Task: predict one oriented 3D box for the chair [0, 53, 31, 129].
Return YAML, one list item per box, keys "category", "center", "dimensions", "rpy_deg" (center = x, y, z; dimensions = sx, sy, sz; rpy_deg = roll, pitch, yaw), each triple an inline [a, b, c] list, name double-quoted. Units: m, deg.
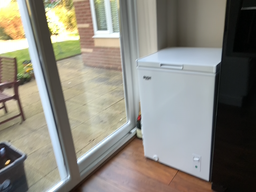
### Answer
- category: "chair"
  center: [-1.850, -0.080, 3.030]
  dimensions: [0.530, 0.920, 0.510]
  rpy_deg: [-22, 28, -35]
